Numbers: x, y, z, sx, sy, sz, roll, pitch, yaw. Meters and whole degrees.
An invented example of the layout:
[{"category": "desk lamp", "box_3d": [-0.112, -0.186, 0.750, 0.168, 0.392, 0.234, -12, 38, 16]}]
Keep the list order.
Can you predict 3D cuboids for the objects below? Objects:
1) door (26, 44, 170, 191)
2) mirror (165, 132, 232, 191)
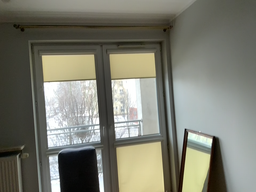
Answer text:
[{"category": "door", "box_3d": [-0.340, 0.490, 2.930, 1.790, 2.360, 0.140, -4, 0, -14]}, {"category": "mirror", "box_3d": [0.770, 1.070, 2.470, 0.190, 1.130, 1.070, -4, 0, -13]}]
